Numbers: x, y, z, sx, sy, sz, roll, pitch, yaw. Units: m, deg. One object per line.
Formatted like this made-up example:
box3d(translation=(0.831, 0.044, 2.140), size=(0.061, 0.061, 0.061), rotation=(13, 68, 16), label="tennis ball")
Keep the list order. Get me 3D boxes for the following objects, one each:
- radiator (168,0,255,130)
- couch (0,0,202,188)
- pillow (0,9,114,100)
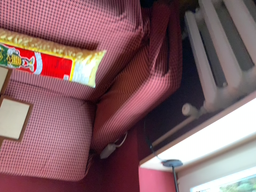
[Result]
box3d(translation=(0.470, -0.330, 0.830), size=(0.280, 0.730, 0.510), rotation=(16, 140, -22), label="radiator")
box3d(translation=(-0.620, -0.140, 1.060), size=(1.430, 0.790, 1.030), rotation=(17, 140, -23), label="couch")
box3d(translation=(-0.410, -0.180, 0.950), size=(0.640, 0.130, 0.250), rotation=(16, 140, -23), label="pillow")
